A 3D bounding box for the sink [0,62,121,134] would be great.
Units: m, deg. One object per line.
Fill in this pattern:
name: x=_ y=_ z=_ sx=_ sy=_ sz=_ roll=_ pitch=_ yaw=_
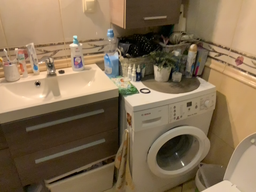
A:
sink: x=-0.400 y=-0.030 z=1.240 sx=0.600 sy=0.120 sz=0.410 roll=-13 pitch=33 yaw=-24
